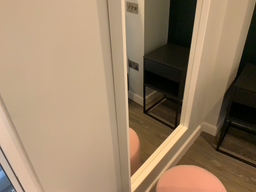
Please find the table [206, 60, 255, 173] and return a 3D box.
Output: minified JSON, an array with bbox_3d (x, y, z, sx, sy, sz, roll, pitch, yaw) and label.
[{"bbox_3d":[0.960,0.150,1.660,0.420,0.660,0.440,24,43,32],"label":"table"}]
